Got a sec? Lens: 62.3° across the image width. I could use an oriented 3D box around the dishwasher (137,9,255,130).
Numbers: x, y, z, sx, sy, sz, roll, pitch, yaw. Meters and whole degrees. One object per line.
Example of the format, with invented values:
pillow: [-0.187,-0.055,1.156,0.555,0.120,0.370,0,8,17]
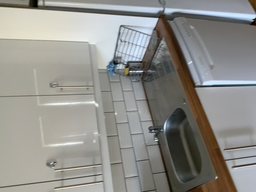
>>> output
dishwasher: [0.650,-0.180,1.710,0.620,0.910,0.650,113,151,-54]
